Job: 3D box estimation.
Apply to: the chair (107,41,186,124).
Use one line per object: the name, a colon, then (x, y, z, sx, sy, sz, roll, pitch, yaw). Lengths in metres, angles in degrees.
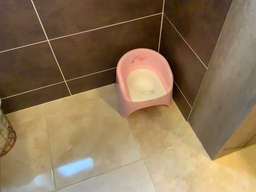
chair: (0.090, -0.080, 1.230, 0.320, 0.270, 0.310, -16, 55, -10)
